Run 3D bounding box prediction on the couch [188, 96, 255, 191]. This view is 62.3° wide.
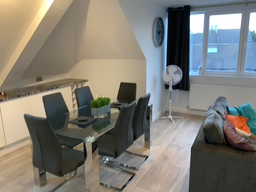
[{"bbox_3d":[1.380,0.600,2.690,0.920,0.810,1.650,5,14,24],"label":"couch"}]
